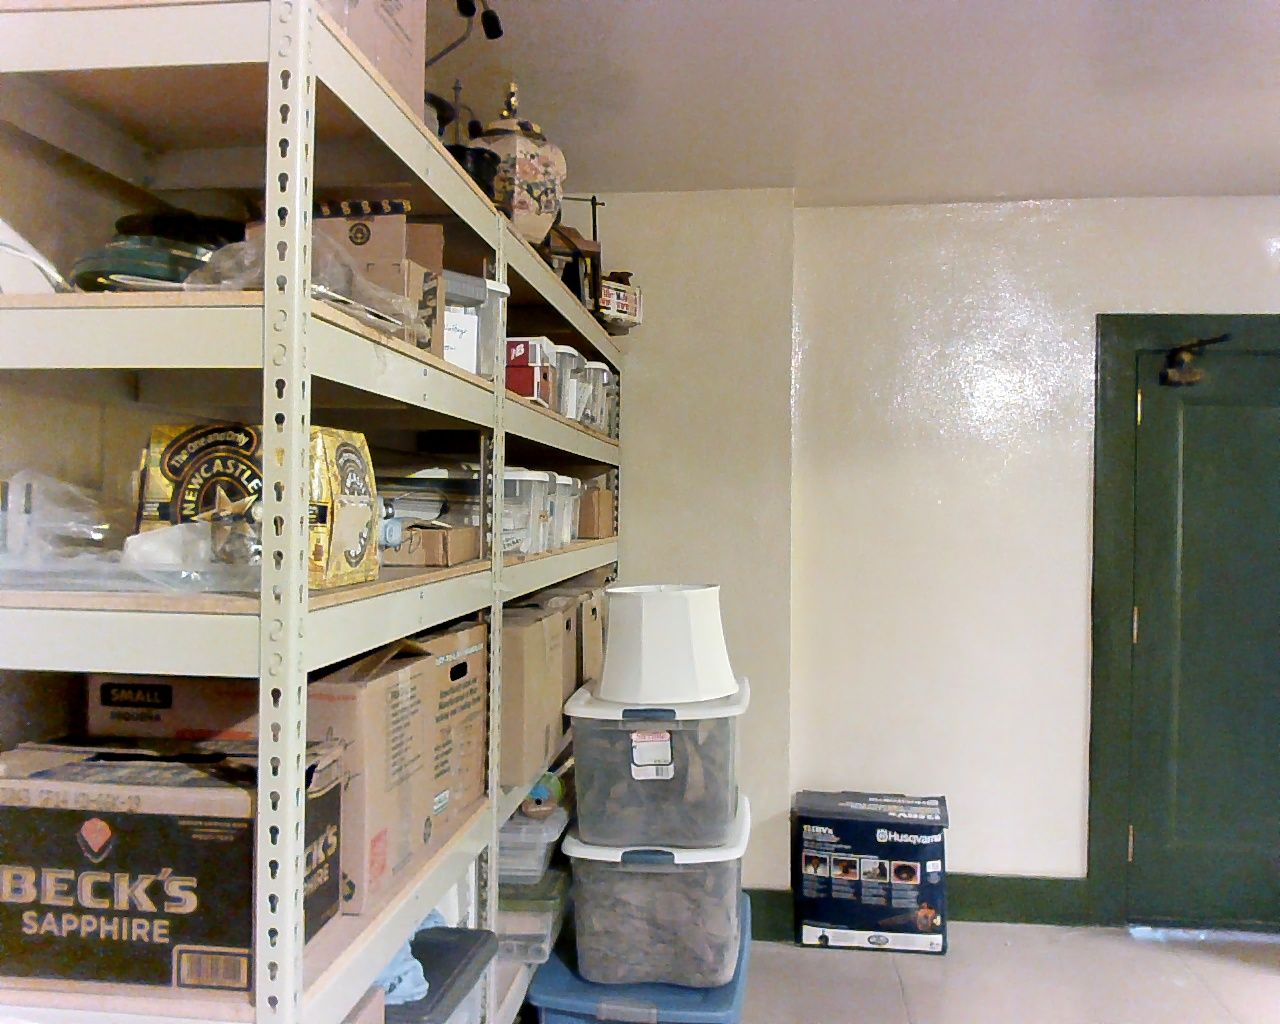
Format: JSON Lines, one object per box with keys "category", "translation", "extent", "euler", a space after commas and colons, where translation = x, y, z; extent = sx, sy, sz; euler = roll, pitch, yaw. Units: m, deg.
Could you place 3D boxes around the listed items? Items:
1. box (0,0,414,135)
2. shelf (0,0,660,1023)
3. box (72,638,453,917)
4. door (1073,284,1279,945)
{"category": "box", "translation": [-0.550, -0.760, 1.370], "extent": [0.420, 0.420, 0.370], "euler": [1, 0, 6]}
{"category": "shelf", "translation": [-0.440, 0.190, 2.580], "extent": [0.690, 2.690, 2.870], "euler": [1, 0, 6]}
{"category": "box", "translation": [-0.550, 0.380, 1.650], "extent": [0.430, 0.320, 0.370], "euler": [1, 0, 6]}
{"category": "door", "translation": [2.210, 0.370, 3.960], "extent": [1.140, 2.390, 0.100], "euler": [1, 0, 6]}
